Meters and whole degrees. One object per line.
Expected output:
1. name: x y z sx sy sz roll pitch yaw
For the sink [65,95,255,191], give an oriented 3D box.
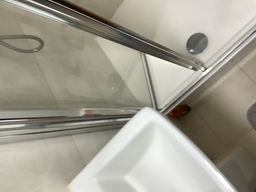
1. sink: 0.120 0.340 0.510 0.390 0.160 0.560 -46 63 26
